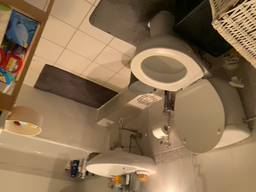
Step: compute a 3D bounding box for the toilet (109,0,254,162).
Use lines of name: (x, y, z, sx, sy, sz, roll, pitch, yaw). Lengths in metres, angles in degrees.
toilet: (0.310, -0.100, 1.330, 0.650, 0.830, 0.410, 22, 145, -28)

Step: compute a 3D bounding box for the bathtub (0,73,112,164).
bathtub: (-1.120, 0.300, 2.470, 1.700, 0.560, 0.700, 22, 145, -28)

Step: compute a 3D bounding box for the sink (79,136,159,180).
sink: (-0.090, 0.560, 1.820, 0.420, 0.190, 0.590, 22, 145, -28)
